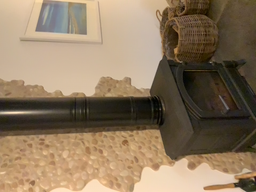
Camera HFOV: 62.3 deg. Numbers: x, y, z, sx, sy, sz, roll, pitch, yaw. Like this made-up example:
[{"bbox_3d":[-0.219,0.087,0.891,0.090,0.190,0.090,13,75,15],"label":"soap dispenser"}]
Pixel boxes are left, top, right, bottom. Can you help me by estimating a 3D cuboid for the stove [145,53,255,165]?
[{"bbox_3d":[0.540,0.080,1.480,0.430,0.650,0.610,105,161,-49],"label":"stove"}]
